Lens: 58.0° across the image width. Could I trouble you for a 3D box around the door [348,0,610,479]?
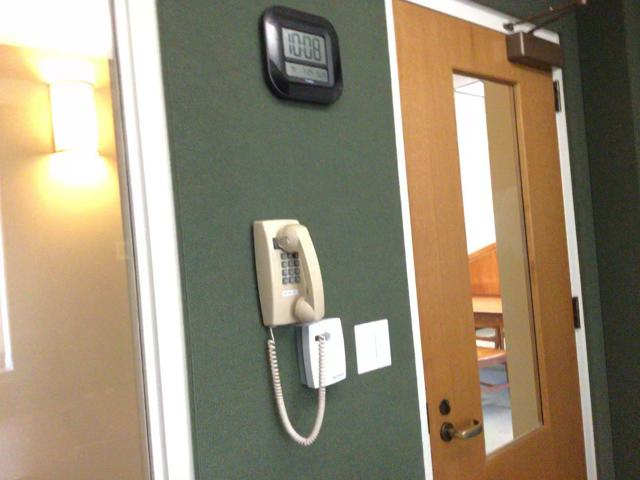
[{"bbox_3d":[0.580,0.360,1.840,0.990,2.220,0.160,-2,-3,-41],"label":"door"}]
